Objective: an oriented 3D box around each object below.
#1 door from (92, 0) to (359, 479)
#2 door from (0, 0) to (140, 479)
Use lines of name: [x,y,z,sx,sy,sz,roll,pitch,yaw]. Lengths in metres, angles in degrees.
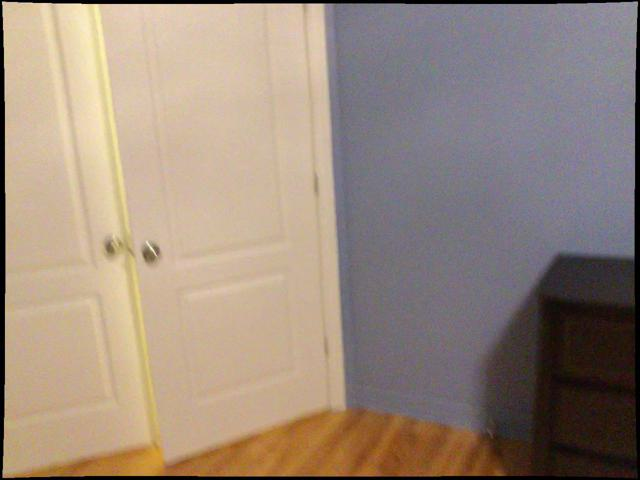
door: [-0.340,-0.140,2.180,0.709,2.032,0.510,-11,17,-21]
door: [-1.169,-0.050,2.110,0.669,2.042,0.190,-10,17,-18]
